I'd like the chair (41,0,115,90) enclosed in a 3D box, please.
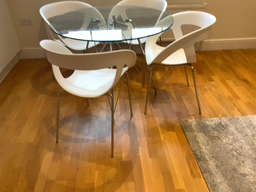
[{"bbox_3d":[-0.550,-0.600,2.400,0.600,0.780,0.550,-15,37,-20],"label":"chair"}]

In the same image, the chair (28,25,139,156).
[{"bbox_3d":[-0.260,-0.050,1.600,0.600,0.780,0.550,-4,35,-5],"label":"chair"}]

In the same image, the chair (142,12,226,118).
[{"bbox_3d":[0.420,-0.290,1.940,0.550,0.780,0.580,1,34,2],"label":"chair"}]

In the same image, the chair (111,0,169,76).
[{"bbox_3d":[0.110,-0.730,2.590,0.600,0.780,0.520,-3,34,-3],"label":"chair"}]
